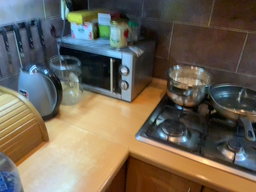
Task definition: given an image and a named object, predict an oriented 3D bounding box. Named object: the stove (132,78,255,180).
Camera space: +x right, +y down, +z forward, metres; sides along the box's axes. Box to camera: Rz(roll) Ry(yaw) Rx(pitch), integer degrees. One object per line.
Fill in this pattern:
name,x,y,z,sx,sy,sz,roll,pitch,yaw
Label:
stove,0.390,0.100,0.930,0.570,0.030,0.530,16,33,22
